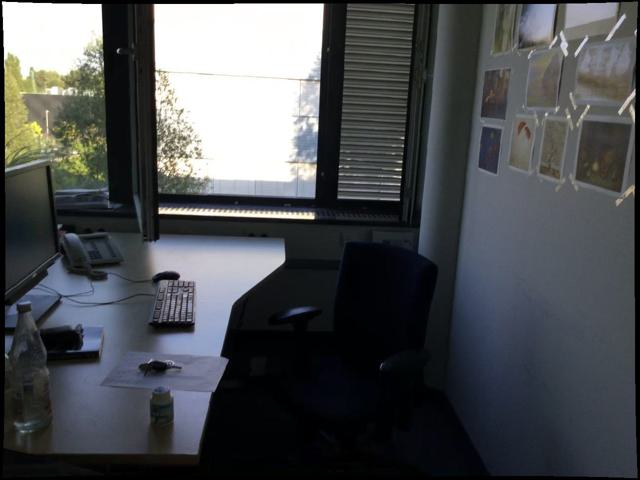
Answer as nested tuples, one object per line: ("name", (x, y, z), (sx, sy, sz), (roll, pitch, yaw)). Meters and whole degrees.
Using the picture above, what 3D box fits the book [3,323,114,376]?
("book", (-0.739, 0.310, 1.660), (0.230, 0.050, 0.220), (-1, 16, -5))

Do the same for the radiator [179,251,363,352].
("radiator", (-0.280, 0.350, 3.400), (1.019, 0.500, 0.270), (-1, 16, -5))
